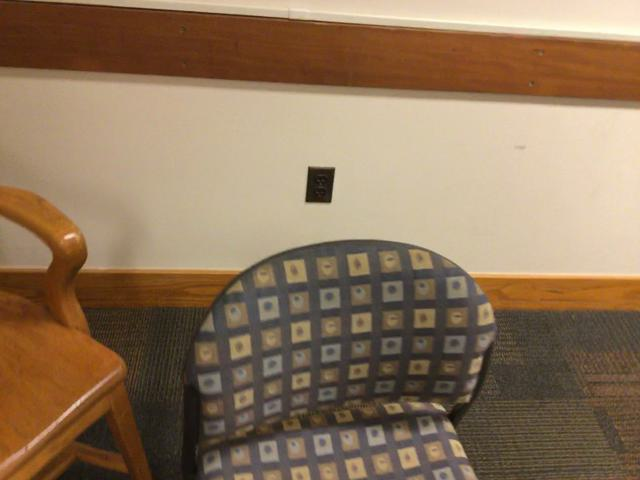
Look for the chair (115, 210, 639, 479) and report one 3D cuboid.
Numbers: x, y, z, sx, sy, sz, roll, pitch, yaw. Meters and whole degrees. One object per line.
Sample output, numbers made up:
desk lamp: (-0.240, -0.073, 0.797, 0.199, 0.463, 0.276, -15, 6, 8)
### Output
chair: (0.050, 0.360, 0.780, 0.520, 0.570, 0.530, -5, 36, -11)
